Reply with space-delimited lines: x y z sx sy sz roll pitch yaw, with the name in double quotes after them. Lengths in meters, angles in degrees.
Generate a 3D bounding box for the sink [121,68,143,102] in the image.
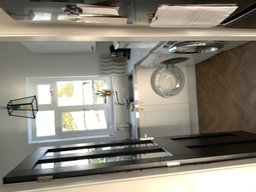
0.050 -0.150 3.200 0.530 0.210 0.460 173 94 -79 "sink"
